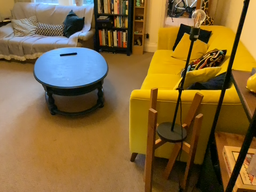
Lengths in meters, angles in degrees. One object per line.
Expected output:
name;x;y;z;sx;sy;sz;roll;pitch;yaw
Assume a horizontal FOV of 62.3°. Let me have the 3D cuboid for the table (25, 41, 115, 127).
table;-0.730;-0.250;2.630;0.830;0.450;1.230;-9;33;-16
